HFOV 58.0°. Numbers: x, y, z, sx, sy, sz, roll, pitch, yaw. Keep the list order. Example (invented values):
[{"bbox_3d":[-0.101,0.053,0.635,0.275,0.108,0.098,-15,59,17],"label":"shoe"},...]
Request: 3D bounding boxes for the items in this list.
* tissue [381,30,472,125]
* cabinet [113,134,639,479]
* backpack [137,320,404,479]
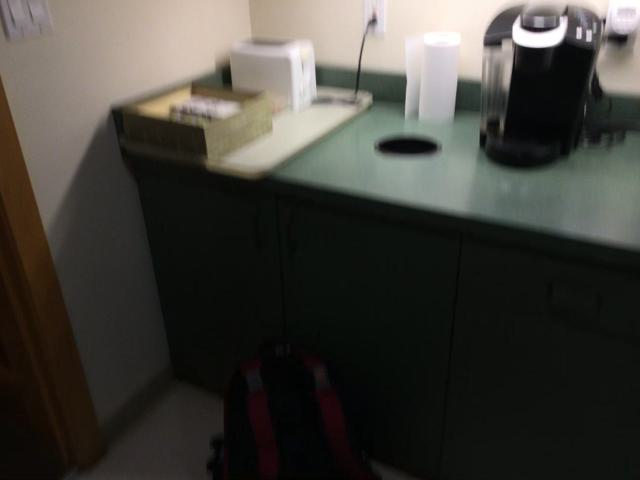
[{"bbox_3d":[0.290,-0.450,1.590,0.200,0.210,0.120,15,34,25],"label":"tissue"},{"bbox_3d":[0.660,0.410,1.130,2.640,0.820,0.090,15,34,25],"label":"cabinet"},{"bbox_3d":[-0.100,0.520,1.420,0.470,0.360,0.400,15,34,25],"label":"backpack"}]
